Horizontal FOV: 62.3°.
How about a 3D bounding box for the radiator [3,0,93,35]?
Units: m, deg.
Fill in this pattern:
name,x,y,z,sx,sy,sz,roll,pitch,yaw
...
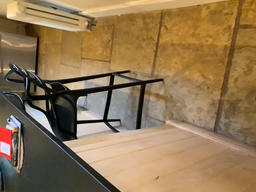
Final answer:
name,x,y,z,sx,sy,sz,roll,pitch,yaw
radiator,-0.820,-0.820,2.210,0.480,0.740,0.220,17,103,46
